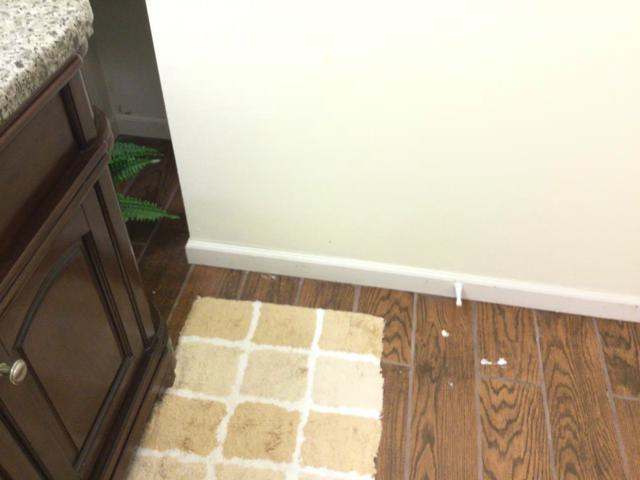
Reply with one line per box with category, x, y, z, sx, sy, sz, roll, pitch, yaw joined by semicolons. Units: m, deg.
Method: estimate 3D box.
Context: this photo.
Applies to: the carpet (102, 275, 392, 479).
carpet;-0.140;0.420;1.280;0.540;0.080;0.790;7;43;6
